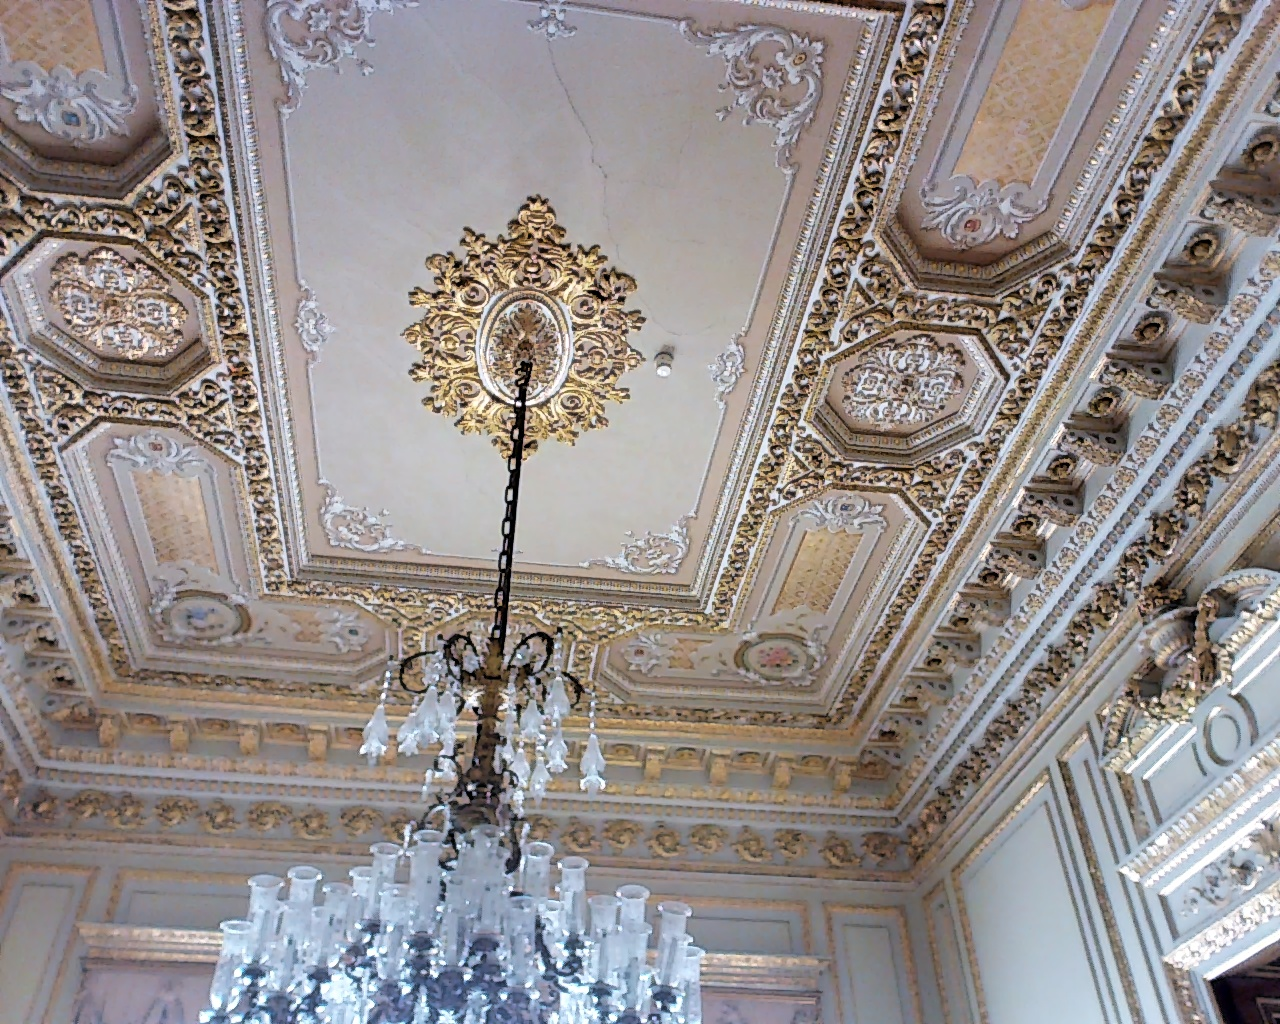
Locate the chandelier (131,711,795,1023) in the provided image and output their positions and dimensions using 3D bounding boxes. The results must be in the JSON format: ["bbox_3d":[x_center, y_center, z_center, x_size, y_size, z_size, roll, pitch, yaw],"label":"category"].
[{"bbox_3d":[-0.560,1.671,3.660,1.599,0.970,1.530,-27,-48,27],"label":"chandelier"}]
